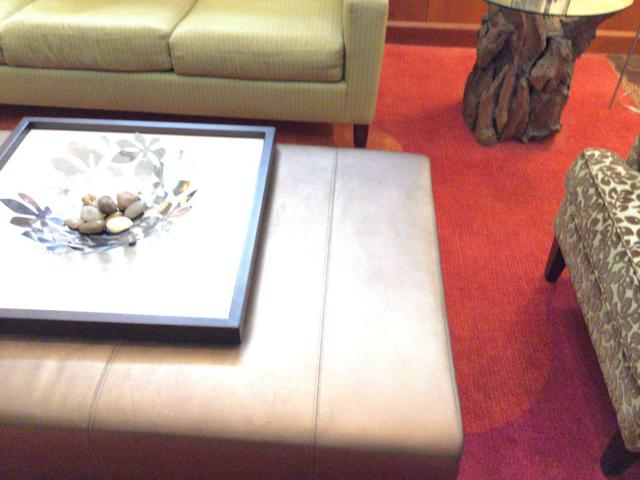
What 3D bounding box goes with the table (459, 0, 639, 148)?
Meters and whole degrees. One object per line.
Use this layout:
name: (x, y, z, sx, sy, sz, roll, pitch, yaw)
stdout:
table: (0.840, -0.730, 2.220, 0.450, 0.590, 0.410, 4, 43, 1)
